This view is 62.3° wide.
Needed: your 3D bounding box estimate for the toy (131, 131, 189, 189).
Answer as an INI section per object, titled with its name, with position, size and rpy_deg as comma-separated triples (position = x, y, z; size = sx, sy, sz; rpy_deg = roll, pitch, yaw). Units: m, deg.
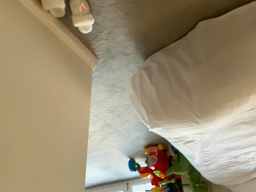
[toy]
position = 0.390, 0.800, 2.590
size = 0.460, 0.460, 0.550
rpy_deg = -21, 141, 22
